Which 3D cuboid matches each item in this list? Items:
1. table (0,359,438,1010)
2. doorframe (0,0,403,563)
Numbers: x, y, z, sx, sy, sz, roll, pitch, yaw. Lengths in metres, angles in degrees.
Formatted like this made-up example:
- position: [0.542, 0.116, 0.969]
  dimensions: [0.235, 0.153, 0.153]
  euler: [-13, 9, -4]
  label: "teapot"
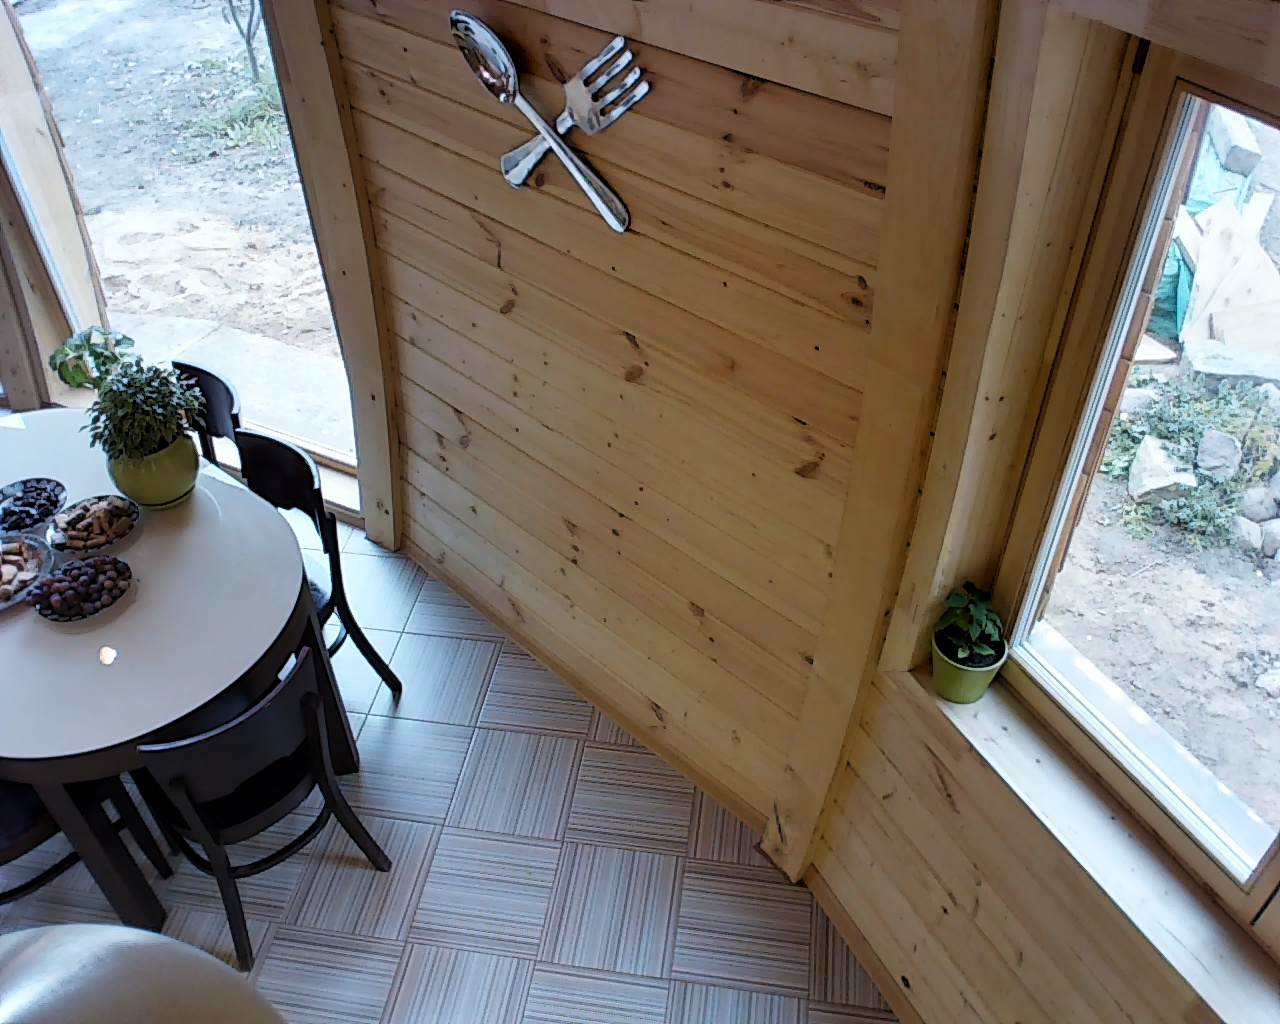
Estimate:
- position: [-1.440, 0.360, 2.890]
  dimensions: [1.400, 0.810, 0.950]
  euler: [24, 47, 26]
  label: "table"
- position: [-1.700, -1.000, 3.450]
  dimensions: [1.580, 2.150, 0.440]
  euler: [19, 44, 21]
  label: "doorframe"
